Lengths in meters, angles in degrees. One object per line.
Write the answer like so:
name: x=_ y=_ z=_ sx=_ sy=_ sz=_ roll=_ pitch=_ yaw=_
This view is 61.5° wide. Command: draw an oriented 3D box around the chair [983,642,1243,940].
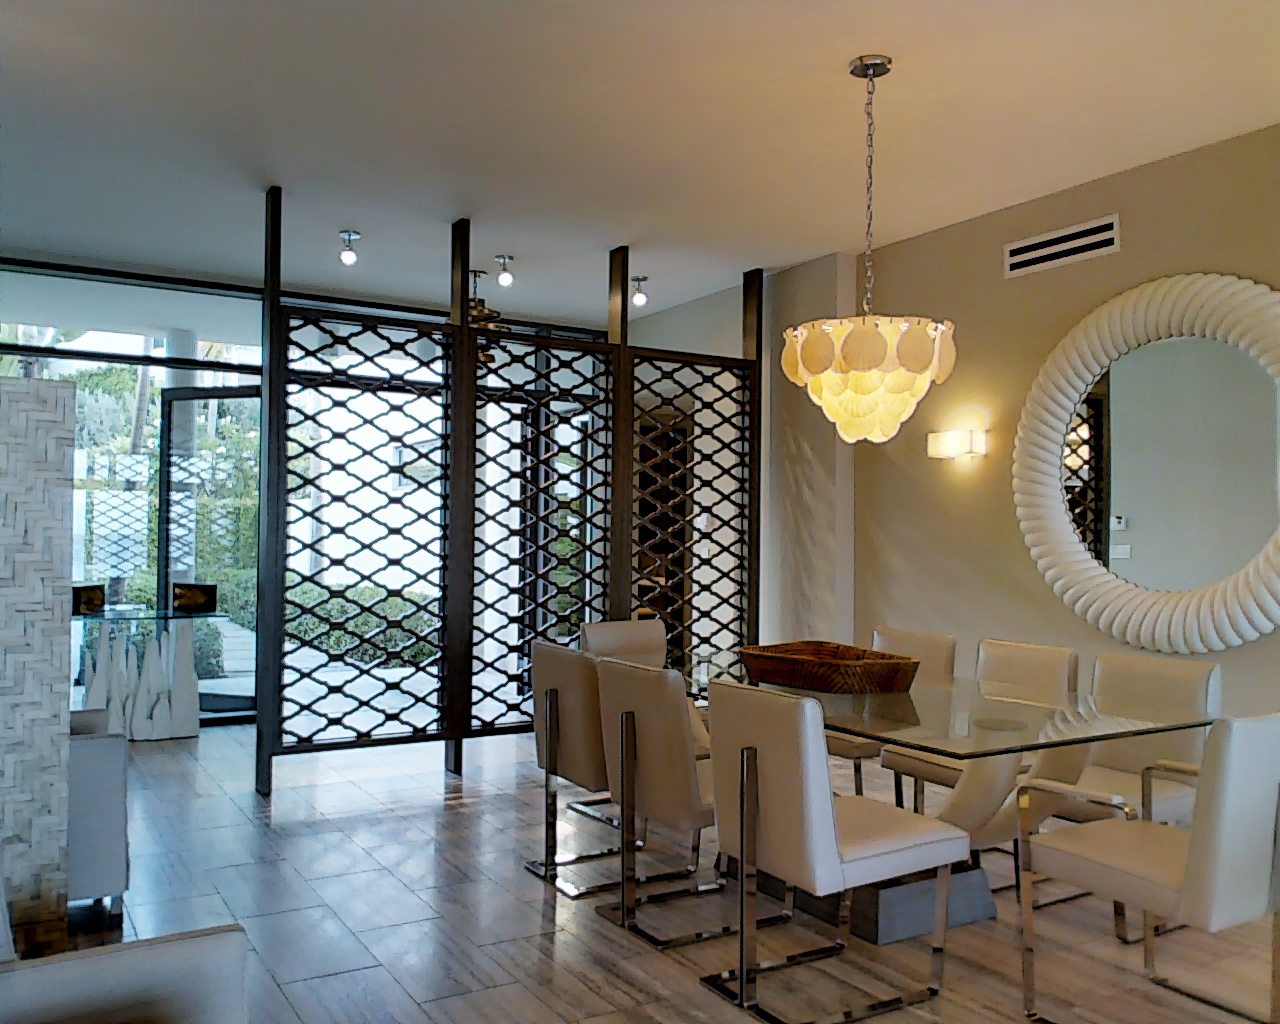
chair: x=1.650 y=0.920 z=3.770 sx=0.660 sy=0.850 sz=0.550 roll=1 pitch=-1 yaw=-31

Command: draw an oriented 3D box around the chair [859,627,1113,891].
chair: x=1.360 y=0.920 z=4.260 sx=0.710 sy=0.850 sz=0.640 roll=1 pitch=-1 yaw=-31

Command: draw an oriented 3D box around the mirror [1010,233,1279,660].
mirror: x=2.370 y=-0.260 z=4.800 sx=0.140 sy=1.720 sz=1.650 roll=1 pitch=-1 yaw=-31

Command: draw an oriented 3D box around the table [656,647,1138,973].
table: x=0.820 y=0.970 z=4.030 sx=0.620 sy=0.710 sz=1.870 roll=1 pitch=-1 yaw=-31
